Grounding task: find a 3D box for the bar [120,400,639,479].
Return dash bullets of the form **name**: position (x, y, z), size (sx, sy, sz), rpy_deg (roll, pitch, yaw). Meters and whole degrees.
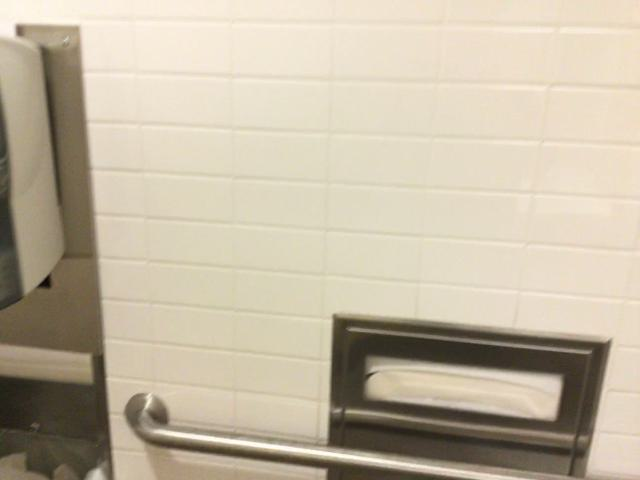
- **bar**: position (0.250, 0.360, 0.920), size (1.180, 0.050, 0.090), rpy_deg (3, 15, 10)
